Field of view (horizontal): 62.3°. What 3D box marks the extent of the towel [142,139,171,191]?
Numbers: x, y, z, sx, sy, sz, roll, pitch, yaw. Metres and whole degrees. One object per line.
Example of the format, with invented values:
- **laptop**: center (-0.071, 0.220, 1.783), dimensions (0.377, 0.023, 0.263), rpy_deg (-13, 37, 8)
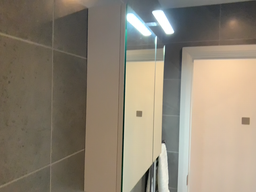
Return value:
- **towel**: center (0.210, 0.590, 1.520), dimensions (0.150, 0.490, 0.320), rpy_deg (2, 2, 15)
